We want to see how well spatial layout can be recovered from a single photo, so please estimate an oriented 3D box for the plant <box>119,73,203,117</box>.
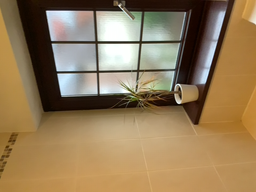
[{"bbox_3d":[0.210,-0.010,1.490,0.170,0.530,0.240,-103,14,-57],"label":"plant"}]
